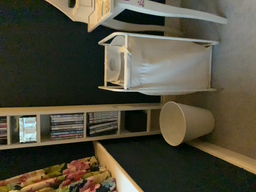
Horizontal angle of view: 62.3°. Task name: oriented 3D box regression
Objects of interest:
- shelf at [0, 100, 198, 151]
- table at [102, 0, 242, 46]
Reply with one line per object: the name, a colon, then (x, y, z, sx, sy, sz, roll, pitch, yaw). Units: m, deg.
shelf: (-0.410, 0.170, 1.360, 0.190, 1.970, 0.230, -162, 73, -67)
table: (0.270, -0.890, 1.340, 0.490, 0.730, 1.020, -162, 73, -67)
